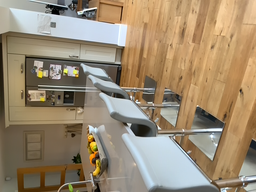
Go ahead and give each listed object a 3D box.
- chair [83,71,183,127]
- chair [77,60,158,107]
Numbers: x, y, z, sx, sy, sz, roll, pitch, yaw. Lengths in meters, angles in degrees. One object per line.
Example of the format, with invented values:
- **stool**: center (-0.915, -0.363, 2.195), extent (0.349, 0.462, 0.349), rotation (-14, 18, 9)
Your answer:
- **chair**: center (0.040, 0.030, 2.380), extent (0.410, 0.980, 0.490), rotation (-142, 56, -64)
- **chair**: center (-0.160, -0.160, 2.920), extent (0.400, 0.980, 0.490), rotation (-129, 45, -59)
